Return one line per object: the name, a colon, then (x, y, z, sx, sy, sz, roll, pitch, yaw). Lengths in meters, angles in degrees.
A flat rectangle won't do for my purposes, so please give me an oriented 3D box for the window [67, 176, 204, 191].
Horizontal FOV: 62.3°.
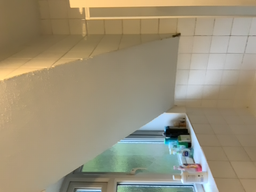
window: (0.050, 0.740, 1.380, 0.470, 0.940, 0.080, -86, -4, -64)
